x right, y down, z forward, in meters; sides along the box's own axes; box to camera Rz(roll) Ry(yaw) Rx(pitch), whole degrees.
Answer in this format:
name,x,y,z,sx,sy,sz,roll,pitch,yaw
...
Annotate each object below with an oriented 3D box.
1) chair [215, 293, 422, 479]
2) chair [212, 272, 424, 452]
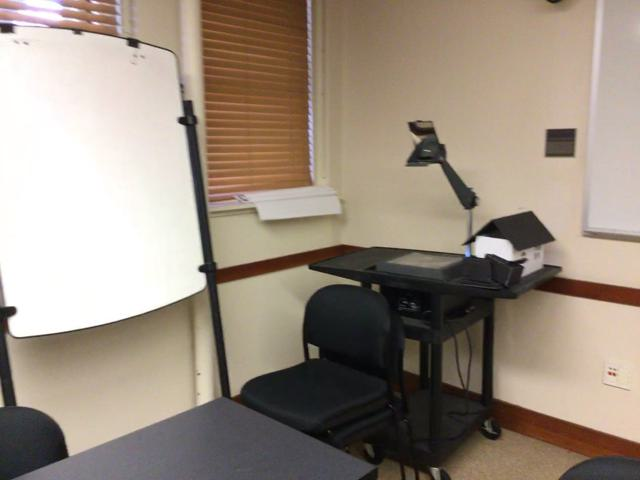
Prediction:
name,x,y,z,sx,sy,sz,roll,pitch,yaw
chair,0.010,0.520,2.290,0.500,0.450,0.650,6,10,42
chair,0.010,0.420,2.270,0.510,0.440,0.660,6,10,42
